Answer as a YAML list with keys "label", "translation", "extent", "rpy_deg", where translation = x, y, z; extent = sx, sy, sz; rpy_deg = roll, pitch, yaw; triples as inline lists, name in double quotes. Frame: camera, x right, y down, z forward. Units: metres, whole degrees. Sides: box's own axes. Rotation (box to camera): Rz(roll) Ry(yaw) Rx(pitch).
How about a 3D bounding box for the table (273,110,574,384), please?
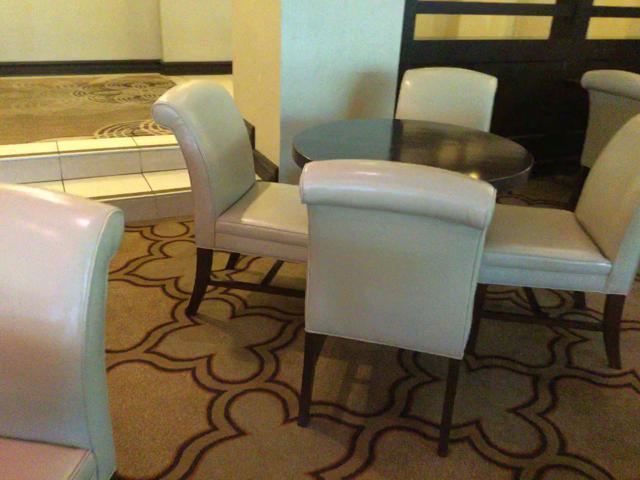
- label: "table"
  translation: [0.360, -0.040, 2.360]
  extent: [0.910, 0.710, 0.880]
  rpy_deg: [7, 24, 5]

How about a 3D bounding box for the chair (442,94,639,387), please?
- label: "chair"
  translation: [0.960, -0.030, 2.290]
  extent: [0.760, 0.900, 0.650]
  rpy_deg: [7, 24, 5]

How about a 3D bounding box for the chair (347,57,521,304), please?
- label: "chair"
  translation: [0.570, -0.350, 2.900]
  extent: [0.610, 0.950, 0.840]
  rpy_deg: [10, 25, 12]

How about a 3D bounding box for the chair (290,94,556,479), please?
- label: "chair"
  translation: [0.310, 0.090, 1.920]
  extent: [0.540, 0.920, 0.970]
  rpy_deg: [9, 25, 9]

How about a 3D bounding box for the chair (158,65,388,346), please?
- label: "chair"
  translation: [-0.170, -0.170, 2.390]
  extent: [0.770, 0.930, 0.590]
  rpy_deg: [7, 24, 5]
